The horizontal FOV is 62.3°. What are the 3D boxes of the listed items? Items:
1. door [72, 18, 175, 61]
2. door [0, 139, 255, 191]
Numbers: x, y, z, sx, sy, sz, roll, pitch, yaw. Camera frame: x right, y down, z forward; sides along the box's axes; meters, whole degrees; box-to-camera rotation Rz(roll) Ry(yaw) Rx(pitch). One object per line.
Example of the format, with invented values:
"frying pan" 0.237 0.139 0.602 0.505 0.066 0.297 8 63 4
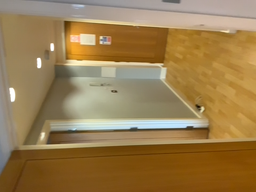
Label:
"door" -0.080 -1.110 4.290 0.050 2.030 0.720 -112 25 -64
"door" 0.370 0.480 1.090 0.830 2.040 0.030 -116 29 -67
